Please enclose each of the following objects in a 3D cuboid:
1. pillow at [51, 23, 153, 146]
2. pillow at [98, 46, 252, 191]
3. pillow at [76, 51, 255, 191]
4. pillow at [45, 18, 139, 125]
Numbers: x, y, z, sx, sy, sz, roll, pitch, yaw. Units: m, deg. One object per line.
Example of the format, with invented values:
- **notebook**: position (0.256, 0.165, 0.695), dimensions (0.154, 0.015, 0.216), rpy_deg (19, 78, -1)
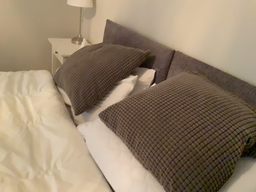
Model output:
- **pillow**: position (-0.160, -0.100, 1.220), dimensions (0.260, 0.290, 0.670), rpy_deg (-29, 53, -15)
- **pillow**: position (0.150, 0.080, 0.700), dimensions (0.160, 0.330, 0.400), rpy_deg (-46, 66, 6)
- **pillow**: position (0.100, 0.170, 0.740), dimensions (0.220, 0.380, 0.520), rpy_deg (-35, 58, -11)
- **pillow**: position (-0.180, -0.120, 1.120), dimensions (0.170, 0.360, 0.450), rpy_deg (-38, 60, -5)
